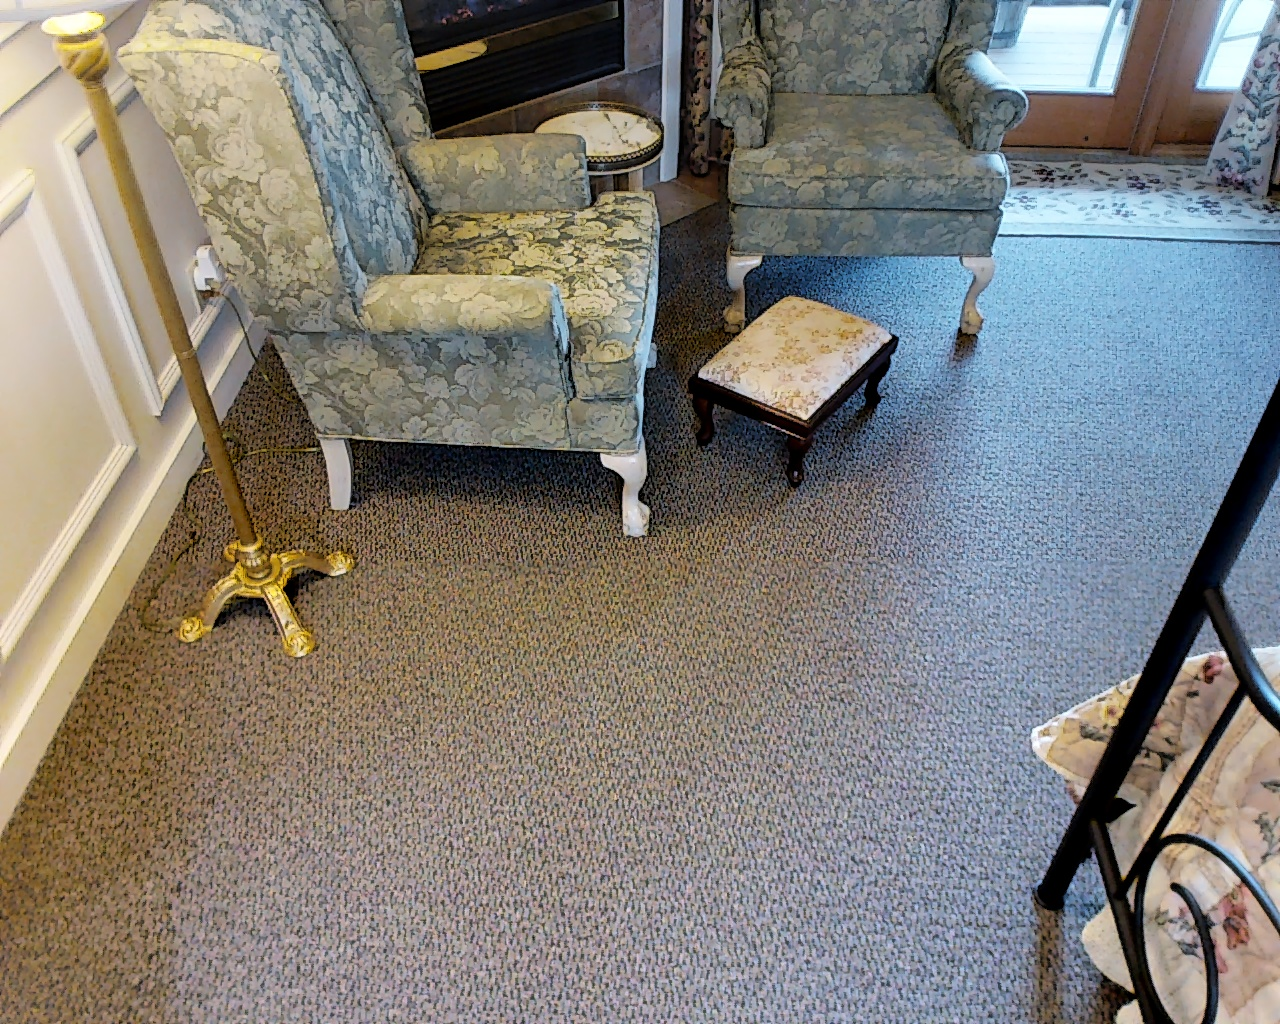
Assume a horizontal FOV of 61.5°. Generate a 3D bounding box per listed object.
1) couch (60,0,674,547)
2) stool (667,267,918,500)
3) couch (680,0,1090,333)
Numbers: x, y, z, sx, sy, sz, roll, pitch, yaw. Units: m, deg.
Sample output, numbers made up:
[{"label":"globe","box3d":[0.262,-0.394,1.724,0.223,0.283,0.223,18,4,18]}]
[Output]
[{"label":"couch","box3d":[-0.390,-0.610,2.240,0.890,1.020,0.870,2,41,2]},{"label":"stool","box3d":[0.360,-0.320,2.540,0.370,0.230,0.510,25,47,26]},{"label":"couch","box3d":[0.550,-1.170,2.890,0.850,1.010,0.950,0,41,1]}]
